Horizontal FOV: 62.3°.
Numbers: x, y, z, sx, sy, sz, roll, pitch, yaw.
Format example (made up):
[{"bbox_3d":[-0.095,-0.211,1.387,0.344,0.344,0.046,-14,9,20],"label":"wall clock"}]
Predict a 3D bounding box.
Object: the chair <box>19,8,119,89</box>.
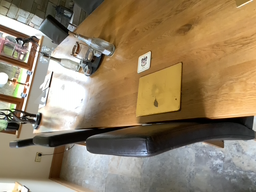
[{"bbox_3d":[-0.740,-0.560,2.840,0.460,1.110,0.590,-10,68,52],"label":"chair"}]
